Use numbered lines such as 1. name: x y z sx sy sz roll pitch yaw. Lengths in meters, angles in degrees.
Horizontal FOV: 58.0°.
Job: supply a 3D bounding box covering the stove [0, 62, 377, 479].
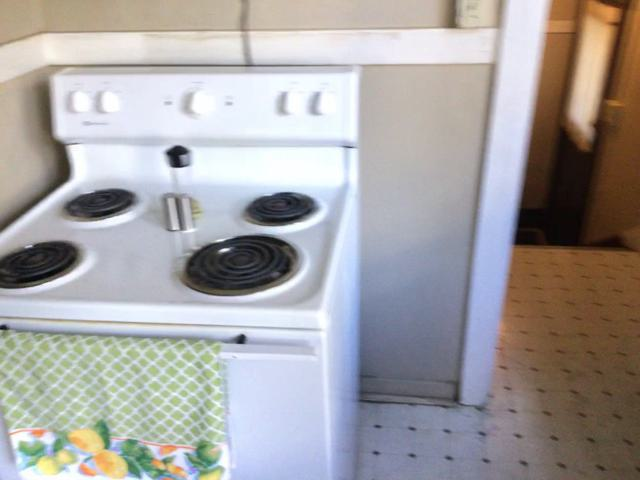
1. stove: -0.310 0.220 1.470 0.850 1.180 0.840 2 25 6
